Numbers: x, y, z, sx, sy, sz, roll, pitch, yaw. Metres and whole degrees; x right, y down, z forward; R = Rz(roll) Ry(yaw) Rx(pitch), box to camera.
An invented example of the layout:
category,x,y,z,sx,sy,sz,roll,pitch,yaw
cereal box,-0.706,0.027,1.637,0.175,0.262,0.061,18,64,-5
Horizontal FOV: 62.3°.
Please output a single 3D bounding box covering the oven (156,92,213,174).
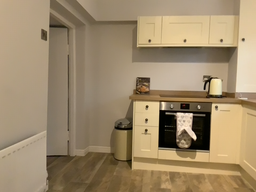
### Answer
category,x,y,z,sx,sy,sz,roll,pitch,yaw
oven,0.690,0.430,2.800,0.620,0.910,0.620,2,4,7
